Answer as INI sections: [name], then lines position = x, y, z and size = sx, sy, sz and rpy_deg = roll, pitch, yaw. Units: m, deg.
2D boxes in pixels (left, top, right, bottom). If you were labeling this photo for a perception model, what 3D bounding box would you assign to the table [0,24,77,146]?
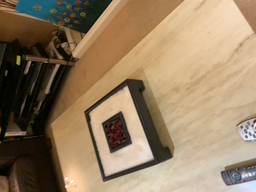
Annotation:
[table]
position = -1.090, -0.070, 2.290
size = 0.490, 0.540, 1.150
rpy_deg = 48, 121, 31
